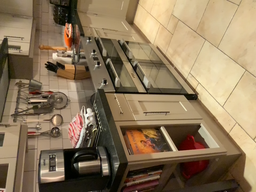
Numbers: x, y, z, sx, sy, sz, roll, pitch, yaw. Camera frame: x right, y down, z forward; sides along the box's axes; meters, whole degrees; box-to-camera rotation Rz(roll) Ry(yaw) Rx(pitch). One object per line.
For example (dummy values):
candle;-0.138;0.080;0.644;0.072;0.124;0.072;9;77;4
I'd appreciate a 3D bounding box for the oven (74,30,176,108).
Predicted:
oven;-0.080;-0.280;2.430;0.510;0.920;0.650;-115;34;-46

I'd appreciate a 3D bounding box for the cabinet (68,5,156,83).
cabinet;-0.280;-0.700;2.910;0.820;0.920;0.640;-115;34;-46

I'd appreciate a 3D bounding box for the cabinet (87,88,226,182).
cabinet;0.190;0.310;1.760;0.360;0.920;0.640;-115;34;-46

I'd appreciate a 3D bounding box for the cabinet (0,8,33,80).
cabinet;-1.600;-0.690;2.560;1.180;0.800;0.340;-115;34;-46
